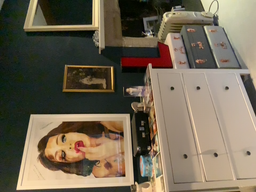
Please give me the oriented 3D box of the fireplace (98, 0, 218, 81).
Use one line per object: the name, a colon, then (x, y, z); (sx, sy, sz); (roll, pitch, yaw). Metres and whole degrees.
fireplace: (0.250, -1.300, 3.310); (0.800, 1.420, 2.030); (102, 165, -58)
